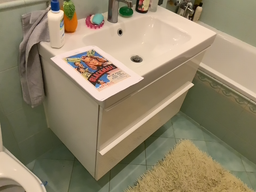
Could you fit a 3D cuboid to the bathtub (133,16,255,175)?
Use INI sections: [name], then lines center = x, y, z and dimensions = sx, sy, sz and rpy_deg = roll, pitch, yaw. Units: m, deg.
[bathtub]
center = 0.910, -0.010, 1.790
dimensions = 0.690, 0.550, 1.670
rpy_deg = -31, 58, -35
